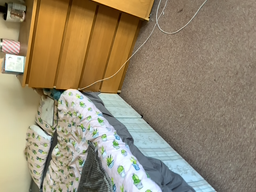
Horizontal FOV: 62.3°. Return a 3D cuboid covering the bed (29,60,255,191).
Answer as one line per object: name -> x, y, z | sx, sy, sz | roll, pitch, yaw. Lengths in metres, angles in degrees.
bed -> -0.280, 0.820, 2.010 | 2.130, 0.650, 1.630 | 40, 118, 48
